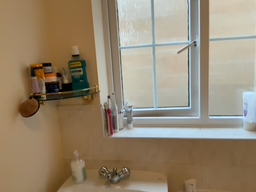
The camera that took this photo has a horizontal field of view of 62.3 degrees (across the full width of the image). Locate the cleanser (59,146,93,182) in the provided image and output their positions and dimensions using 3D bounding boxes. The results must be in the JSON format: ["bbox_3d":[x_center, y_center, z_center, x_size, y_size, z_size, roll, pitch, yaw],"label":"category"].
[{"bbox_3d":[-0.290,0.380,1.200,0.130,0.150,0.120,-1,10,16],"label":"cleanser"}]

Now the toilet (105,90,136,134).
[{"bbox_3d":[-0.040,0.090,1.270,0.130,0.220,0.170,-1,10,13],"label":"toilet"}]
